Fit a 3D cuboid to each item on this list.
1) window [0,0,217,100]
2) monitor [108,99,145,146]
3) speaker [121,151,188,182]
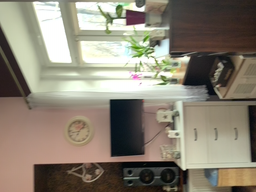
[{"bbox_3d":[-0.260,-0.760,2.760,0.570,2.380,1.570,-94,5,-54],"label":"window"},{"bbox_3d":[-0.020,0.340,2.710,0.050,0.470,0.600,-118,28,-81],"label":"monitor"},{"bbox_3d":[0.370,1.040,3.160,0.290,0.940,0.330,-107,17,-80],"label":"speaker"}]
